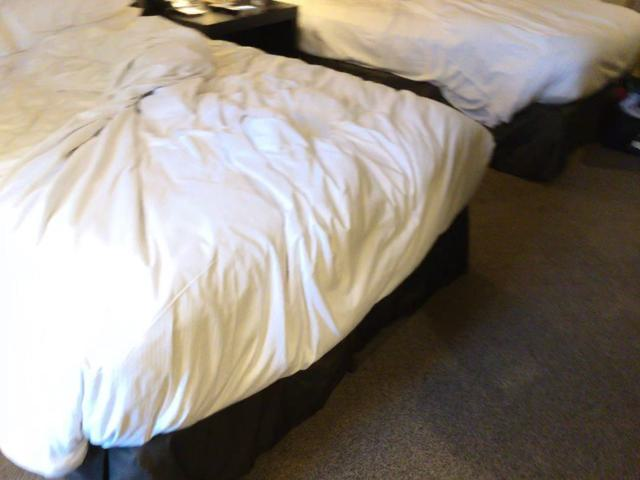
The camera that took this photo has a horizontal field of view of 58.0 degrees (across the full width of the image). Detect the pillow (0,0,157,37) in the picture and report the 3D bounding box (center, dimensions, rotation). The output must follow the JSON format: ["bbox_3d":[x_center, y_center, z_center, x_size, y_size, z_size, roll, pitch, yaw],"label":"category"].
[{"bbox_3d":[-1.060,-1.000,2.410,0.480,0.130,0.540,23,39,31],"label":"pillow"}]
